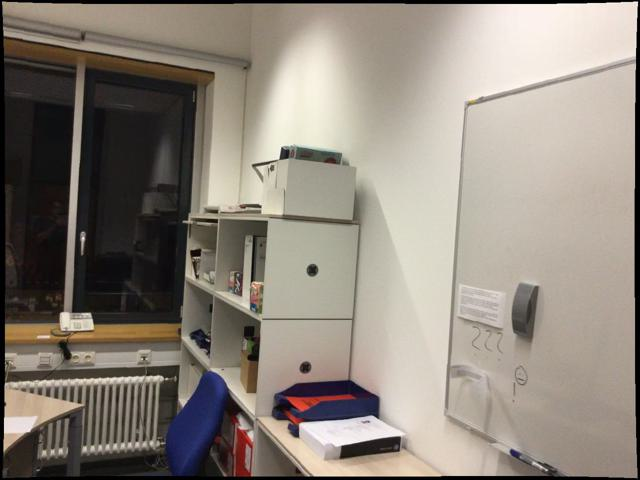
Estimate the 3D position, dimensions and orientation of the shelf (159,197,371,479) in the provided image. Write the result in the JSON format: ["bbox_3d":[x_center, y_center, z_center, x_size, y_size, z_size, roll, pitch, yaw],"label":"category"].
[{"bbox_3d":[-0.420,0.671,2.960,0.400,1.742,1.780,2,3,-25],"label":"shelf"}]
